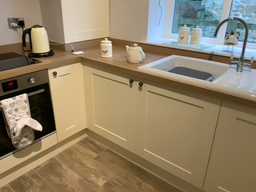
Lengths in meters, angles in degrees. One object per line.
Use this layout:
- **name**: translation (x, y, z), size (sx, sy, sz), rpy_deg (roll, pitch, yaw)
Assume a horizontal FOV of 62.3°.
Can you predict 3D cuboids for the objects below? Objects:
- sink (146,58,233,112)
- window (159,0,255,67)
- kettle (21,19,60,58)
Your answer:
- **sink**: translation (0.450, -0.110, 1.570), size (0.480, 0.190, 0.390), rpy_deg (20, 30, 35)
- **window**: translation (0.850, -0.870, 1.890), size (1.200, 1.080, 0.080), rpy_deg (20, 31, 35)
- **kettle**: translation (-0.740, -0.500, 1.820), size (0.170, 0.280, 0.220), rpy_deg (21, 31, 36)
